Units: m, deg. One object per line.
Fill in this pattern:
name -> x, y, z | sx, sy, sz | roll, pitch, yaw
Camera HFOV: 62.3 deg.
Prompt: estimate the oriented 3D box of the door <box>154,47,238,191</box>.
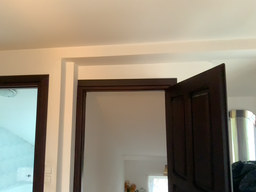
door -> 0.420, 0.840, 1.520 | 0.110, 2.100, 1.030 | 0, -6, -9
